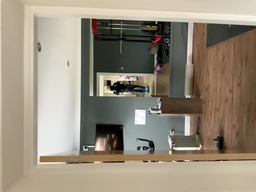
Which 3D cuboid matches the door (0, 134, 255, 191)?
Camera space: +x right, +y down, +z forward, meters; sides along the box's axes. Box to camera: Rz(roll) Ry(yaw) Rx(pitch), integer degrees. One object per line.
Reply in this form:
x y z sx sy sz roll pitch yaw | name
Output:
0.420 0.410 1.560 1.020 2.090 0.130 149 122 -83 | door
